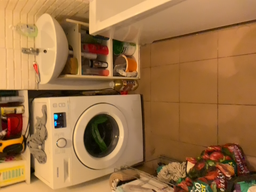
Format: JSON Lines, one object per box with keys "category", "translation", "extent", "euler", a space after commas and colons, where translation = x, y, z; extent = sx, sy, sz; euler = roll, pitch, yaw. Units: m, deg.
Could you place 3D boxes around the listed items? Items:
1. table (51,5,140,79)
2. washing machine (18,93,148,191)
{"category": "table", "translation": [-0.260, -0.400, 1.820], "extent": [0.330, 0.680, 0.480], "euler": [2, 93, 49]}
{"category": "washing machine", "translation": [-0.400, 0.310, 1.870], "extent": [0.750, 0.840, 0.630], "euler": [-3, 89, 49]}
